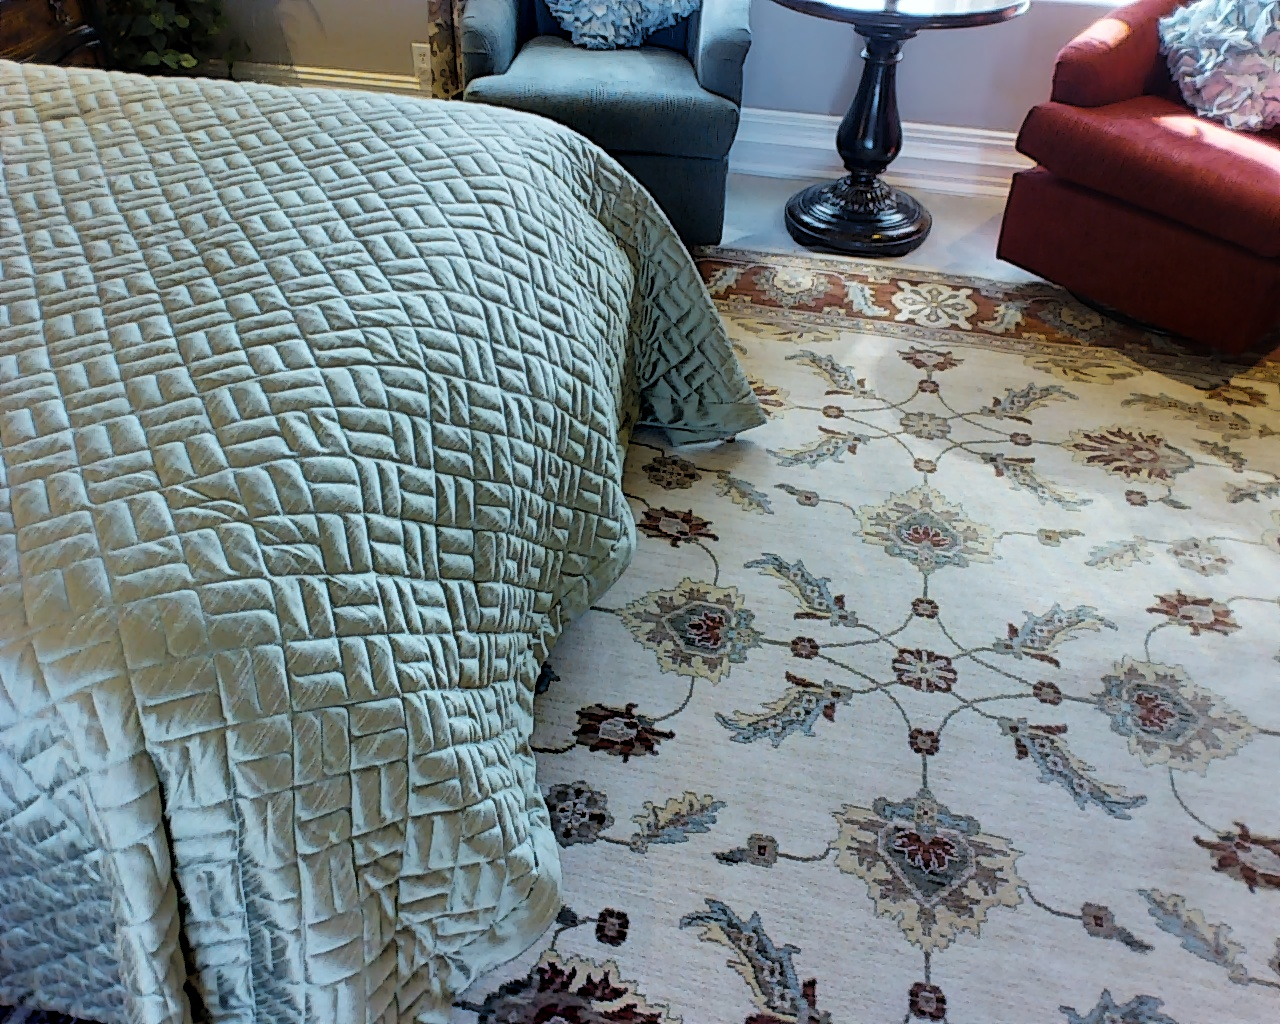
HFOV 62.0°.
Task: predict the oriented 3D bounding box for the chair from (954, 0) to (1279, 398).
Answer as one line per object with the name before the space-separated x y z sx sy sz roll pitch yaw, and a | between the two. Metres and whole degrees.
chair | 1.480 -0.970 2.730 0.770 0.840 0.870 -28 47 -29

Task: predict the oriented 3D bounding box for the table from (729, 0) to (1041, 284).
table | 0.660 -1.140 3.010 0.700 0.690 0.640 7 41 9

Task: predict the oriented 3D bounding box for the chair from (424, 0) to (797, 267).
chair | -0.070 -1.280 3.010 0.890 0.880 0.790 0 40 0
